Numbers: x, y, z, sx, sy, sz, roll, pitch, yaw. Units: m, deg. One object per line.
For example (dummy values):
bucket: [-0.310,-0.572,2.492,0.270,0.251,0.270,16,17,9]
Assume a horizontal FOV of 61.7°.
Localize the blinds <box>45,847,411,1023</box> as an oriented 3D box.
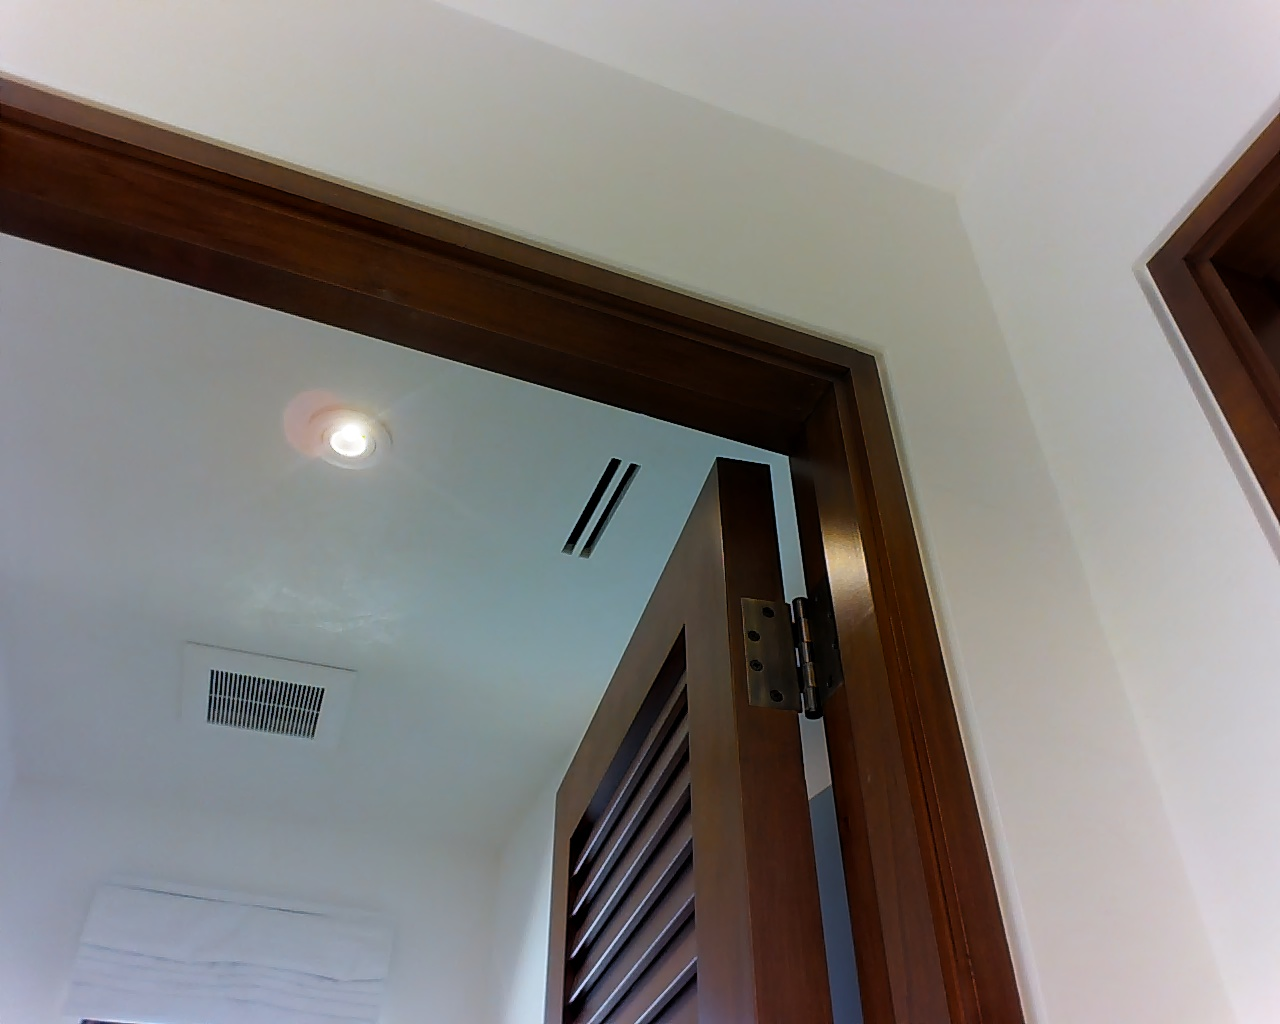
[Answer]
blinds: [-0.890,0.970,2.390,0.700,0.310,0.100,14,-43,-16]
